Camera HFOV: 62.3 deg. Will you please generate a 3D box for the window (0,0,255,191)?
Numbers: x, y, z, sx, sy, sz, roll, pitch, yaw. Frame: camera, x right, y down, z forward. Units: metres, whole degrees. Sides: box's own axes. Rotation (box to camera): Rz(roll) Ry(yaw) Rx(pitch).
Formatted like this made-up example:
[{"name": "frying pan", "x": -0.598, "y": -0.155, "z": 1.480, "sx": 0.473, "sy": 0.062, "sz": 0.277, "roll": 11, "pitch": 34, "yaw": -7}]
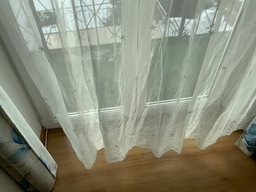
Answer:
[{"name": "window", "x": 0.150, "y": -0.450, "z": 0.570, "sx": 2.020, "sy": 2.610, "sz": 0.130, "roll": -8, "pitch": 48, "yaw": -8}]
